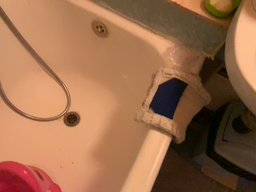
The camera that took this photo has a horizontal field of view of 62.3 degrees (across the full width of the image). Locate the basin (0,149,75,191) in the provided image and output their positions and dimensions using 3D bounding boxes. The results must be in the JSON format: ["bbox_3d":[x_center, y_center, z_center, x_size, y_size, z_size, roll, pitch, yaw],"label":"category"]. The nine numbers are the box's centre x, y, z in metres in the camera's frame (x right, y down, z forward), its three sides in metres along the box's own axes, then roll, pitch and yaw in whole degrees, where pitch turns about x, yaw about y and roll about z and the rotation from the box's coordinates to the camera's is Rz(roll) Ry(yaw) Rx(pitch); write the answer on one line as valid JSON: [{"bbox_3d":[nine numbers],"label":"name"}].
[{"bbox_3d":[-0.370,0.310,0.640,0.320,0.200,0.230,25,64,3],"label":"basin"}]
